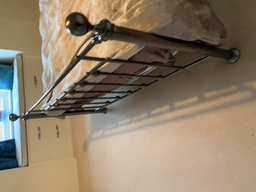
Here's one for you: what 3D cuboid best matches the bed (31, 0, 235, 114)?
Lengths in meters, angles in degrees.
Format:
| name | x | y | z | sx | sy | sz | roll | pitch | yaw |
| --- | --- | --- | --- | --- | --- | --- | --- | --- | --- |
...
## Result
| name | x | y | z | sx | sy | sz | roll | pitch | yaw |
| --- | --- | --- | --- | --- | --- | --- | --- | --- | --- |
| bed | -0.290 | -1.070 | 1.810 | 1.550 | 0.670 | 2.140 | -25 | 70 | 51 |
